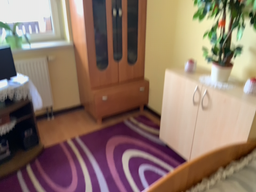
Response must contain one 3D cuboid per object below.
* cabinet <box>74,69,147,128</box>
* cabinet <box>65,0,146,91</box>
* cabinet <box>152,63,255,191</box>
[{"bbox_3d":[-0.230,-0.010,2.800,0.740,0.450,0.570,-15,29,-30],"label":"cabinet"},{"bbox_3d":[-0.250,-0.940,2.390,0.740,1.580,0.490,-15,29,-30],"label":"cabinet"},{"bbox_3d":[0.630,0.240,1.810,0.340,0.810,0.870,-14,29,-28],"label":"cabinet"}]
